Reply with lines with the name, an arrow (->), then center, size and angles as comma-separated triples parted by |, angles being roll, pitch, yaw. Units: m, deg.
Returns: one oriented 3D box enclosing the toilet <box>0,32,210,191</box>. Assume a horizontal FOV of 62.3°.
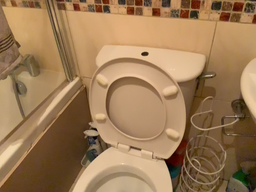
toilet -> 0.000, 0.290, 0.840 | 0.430, 0.810, 0.680 | 11, 41, 16
